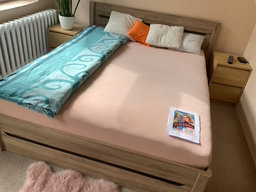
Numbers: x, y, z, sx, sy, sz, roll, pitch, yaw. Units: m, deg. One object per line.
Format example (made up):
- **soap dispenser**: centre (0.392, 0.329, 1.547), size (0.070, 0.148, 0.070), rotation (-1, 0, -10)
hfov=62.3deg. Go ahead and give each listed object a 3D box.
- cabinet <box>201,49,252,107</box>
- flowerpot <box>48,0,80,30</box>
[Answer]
- **cabinet**: centre (1.260, -0.250, 2.810), size (0.420, 0.510, 0.540), rotation (13, 33, 10)
- **flowerpot**: centre (-0.840, -1.310, 2.800), size (0.280, 0.740, 0.330), rotation (13, 33, 10)
